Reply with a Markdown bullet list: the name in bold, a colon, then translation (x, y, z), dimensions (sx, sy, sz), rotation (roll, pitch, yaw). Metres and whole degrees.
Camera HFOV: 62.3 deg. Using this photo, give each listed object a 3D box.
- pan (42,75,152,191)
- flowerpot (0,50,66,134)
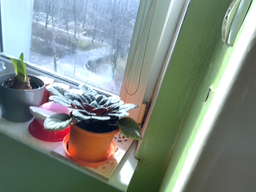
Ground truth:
- **pan**: translation (-0.090, 0.100, 0.720), dimensions (0.230, 0.220, 0.280), rotation (21, 23, 12)
- **flowerpot**: translation (-0.410, -0.030, 0.800), dimensions (0.250, 0.200, 0.190), rotation (21, 24, 13)
